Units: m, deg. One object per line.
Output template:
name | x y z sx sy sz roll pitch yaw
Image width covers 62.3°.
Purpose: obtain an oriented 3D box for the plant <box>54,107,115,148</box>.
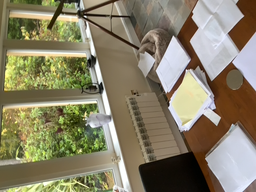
plant | -0.560 0.390 2.650 0.430 0.670 0.250 112 147 -45
